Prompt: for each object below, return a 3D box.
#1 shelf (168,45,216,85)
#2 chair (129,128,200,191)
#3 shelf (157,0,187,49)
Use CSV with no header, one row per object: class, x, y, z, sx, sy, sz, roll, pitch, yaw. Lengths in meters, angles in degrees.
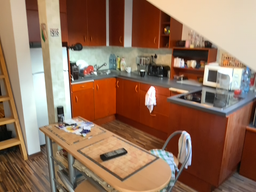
shelf,0.940,-0.490,3.200,0.220,0.510,0.630,-13,21,-42
chair,0.270,0.700,1.830,0.460,0.730,0.390,-1,16,-9
shelf,0.670,-1.160,3.210,0.340,0.850,0.240,-13,21,-42
